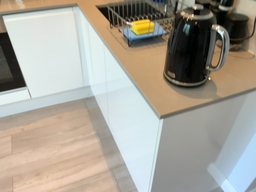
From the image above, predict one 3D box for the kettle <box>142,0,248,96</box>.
[{"bbox_3d":[0.200,-0.180,0.730,0.210,0.230,0.230,-13,42,-18],"label":"kettle"}]
